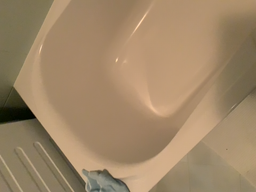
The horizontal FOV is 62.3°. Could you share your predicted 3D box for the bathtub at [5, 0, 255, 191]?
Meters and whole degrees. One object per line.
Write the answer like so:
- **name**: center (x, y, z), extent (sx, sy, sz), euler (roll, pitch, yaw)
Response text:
- **bathtub**: center (0.210, -0.320, 0.840), extent (0.730, 0.550, 1.380), euler (45, 113, 19)
